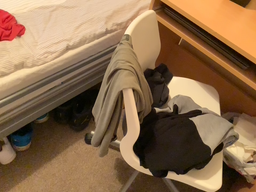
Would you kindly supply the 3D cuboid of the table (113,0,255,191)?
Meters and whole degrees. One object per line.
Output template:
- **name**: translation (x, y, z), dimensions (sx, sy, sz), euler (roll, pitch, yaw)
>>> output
- **table**: translation (0.410, 0.000, 1.010), dimensions (0.450, 0.760, 0.790), euler (-34, 68, -33)
